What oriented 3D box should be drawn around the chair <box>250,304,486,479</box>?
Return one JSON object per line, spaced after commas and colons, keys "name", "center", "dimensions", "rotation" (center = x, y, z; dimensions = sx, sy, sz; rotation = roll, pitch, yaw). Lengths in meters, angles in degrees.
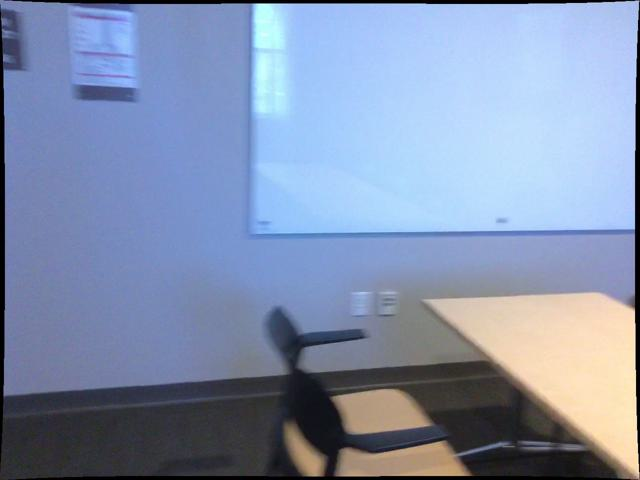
{"name": "chair", "center": [0.090, 0.471, 1.630], "dimensions": [0.489, 0.391, 0.520], "rotation": [-1, 16, -16]}
